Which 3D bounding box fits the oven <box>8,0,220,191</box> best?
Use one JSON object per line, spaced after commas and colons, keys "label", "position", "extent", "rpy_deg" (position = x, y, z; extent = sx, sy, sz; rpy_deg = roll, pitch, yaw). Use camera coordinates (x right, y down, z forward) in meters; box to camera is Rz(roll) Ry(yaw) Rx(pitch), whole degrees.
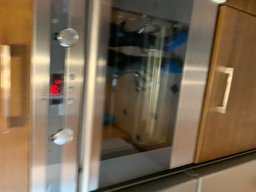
{"label": "oven", "position": [-0.120, -0.060, 0.860], "extent": [0.580, 0.600, 0.600], "rpy_deg": [20, 108, 55]}
